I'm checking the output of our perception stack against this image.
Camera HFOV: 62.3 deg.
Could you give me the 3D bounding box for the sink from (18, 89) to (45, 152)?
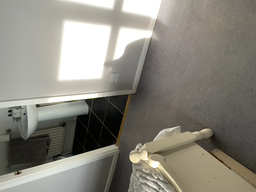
[{"bbox_3d":[-1.200,0.290,2.600,0.390,0.190,0.630,38,124,42],"label":"sink"}]
